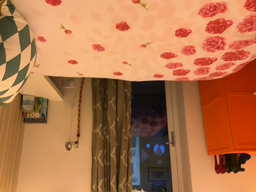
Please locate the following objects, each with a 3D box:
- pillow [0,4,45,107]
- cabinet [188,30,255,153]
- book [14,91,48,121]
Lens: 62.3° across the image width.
[{"bbox_3d":[-0.590,-0.170,1.030,0.210,0.360,0.360,1,162,-2],"label":"pillow"},{"bbox_3d":[1.230,-0.020,2.410,0.820,1.270,0.550,1,162,-4],"label":"cabinet"},{"bbox_3d":[-1.070,0.120,2.370,0.250,0.280,0.250,1,162,-4],"label":"book"}]
